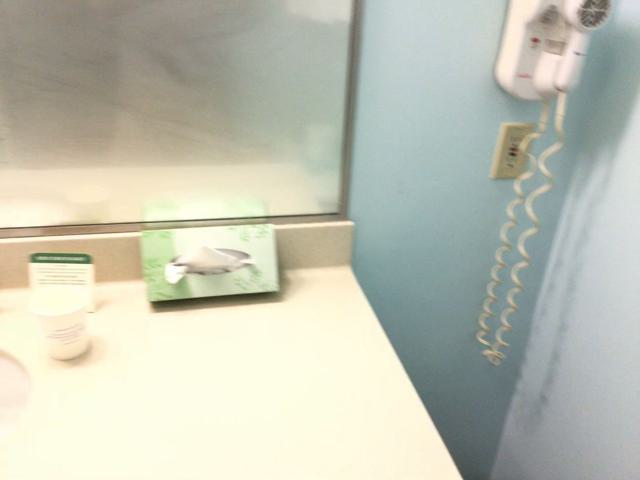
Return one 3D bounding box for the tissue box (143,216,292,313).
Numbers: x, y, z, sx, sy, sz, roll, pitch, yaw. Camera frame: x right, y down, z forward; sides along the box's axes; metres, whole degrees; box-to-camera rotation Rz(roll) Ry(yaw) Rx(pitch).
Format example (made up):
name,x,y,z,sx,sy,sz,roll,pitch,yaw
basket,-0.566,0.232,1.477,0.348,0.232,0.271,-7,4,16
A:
name,x,y,z,sx,sy,sz,roll,pitch,yaw
tissue box,-0.180,0.040,1.020,0.240,0.120,0.110,-2,28,-13
